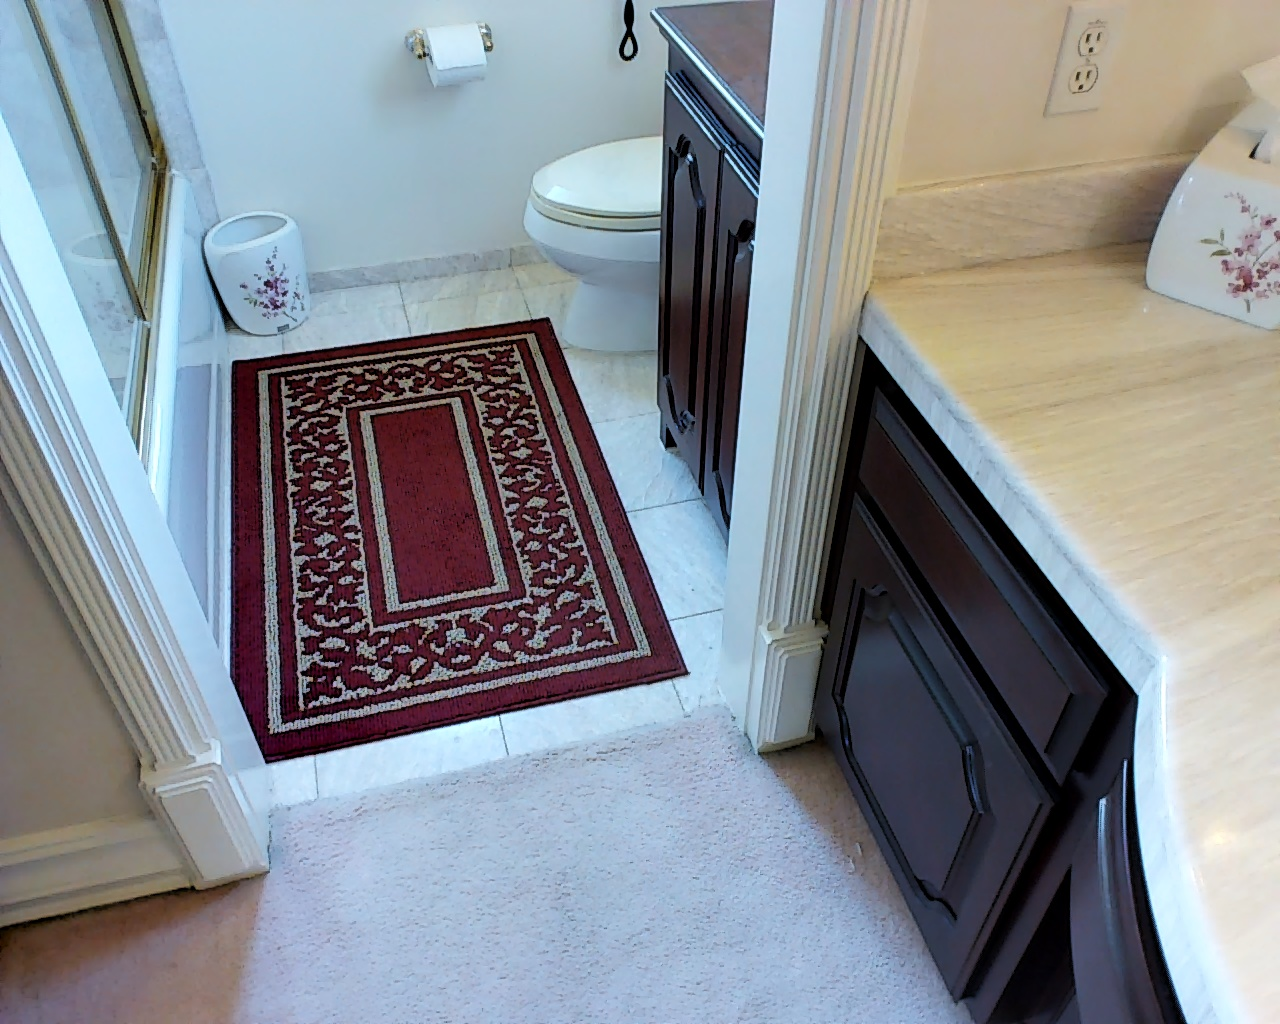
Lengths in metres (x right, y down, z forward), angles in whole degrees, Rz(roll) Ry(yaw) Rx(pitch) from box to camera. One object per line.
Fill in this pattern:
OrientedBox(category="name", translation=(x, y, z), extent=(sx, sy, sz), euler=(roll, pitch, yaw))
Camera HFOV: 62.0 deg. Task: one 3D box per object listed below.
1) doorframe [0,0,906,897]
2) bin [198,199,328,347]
OrientedBox(category="doorframe", translation=(-0.190, -0.490, 0.810), extent=(0.850, 2.540, 0.120), euler=(-11, 44, -12))
OrientedBox(category="bin", translation=(-0.910, -0.580, 2.580), extent=(0.240, 0.250, 0.210), euler=(-11, 44, -12))
